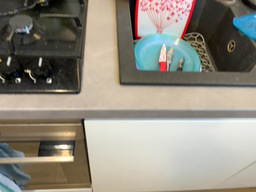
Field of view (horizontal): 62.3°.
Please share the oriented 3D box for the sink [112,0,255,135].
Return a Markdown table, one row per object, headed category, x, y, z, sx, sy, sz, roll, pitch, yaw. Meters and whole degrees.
| category | x | y | z | sx | sy | sz | roll | pitch | yaw |
| --- | --- | --- | --- | --- | --- | --- | --- | --- | --- |
| sink | 0.150 | -0.140 | 0.690 | 0.390 | 0.240 | 0.460 | 0 | 53 | -7 |
